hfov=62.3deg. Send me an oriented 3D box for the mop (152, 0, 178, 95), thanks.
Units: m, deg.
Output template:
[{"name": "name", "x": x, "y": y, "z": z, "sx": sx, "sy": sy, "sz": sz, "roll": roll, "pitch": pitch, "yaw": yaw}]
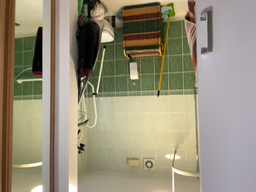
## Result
[{"name": "mop", "x": 0.520, "y": -0.650, "z": 2.970, "sx": 0.310, "sy": 1.240, "sz": 0.260, "roll": -1, "pitch": 176, "yaw": 16}]
